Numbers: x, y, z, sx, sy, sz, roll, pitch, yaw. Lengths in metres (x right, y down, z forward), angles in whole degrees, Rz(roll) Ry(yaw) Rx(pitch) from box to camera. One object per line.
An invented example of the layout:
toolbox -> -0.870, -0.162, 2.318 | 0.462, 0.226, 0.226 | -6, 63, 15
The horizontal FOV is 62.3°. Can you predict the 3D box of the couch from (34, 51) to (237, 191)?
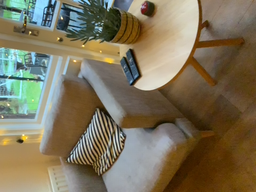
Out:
couch -> -0.080, 0.390, 1.580 | 0.970, 0.840, 0.970 | 51, 127, 41
